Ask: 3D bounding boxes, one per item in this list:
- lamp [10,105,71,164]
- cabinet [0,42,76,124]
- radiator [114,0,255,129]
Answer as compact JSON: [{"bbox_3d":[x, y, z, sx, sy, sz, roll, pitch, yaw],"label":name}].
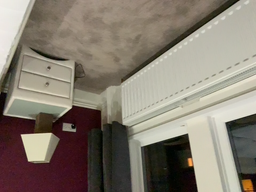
[{"bbox_3d":[-0.750,0.350,1.820,0.360,0.390,0.390,13,151,-33],"label":"lamp"},{"bbox_3d":[-0.820,-0.070,1.910,0.490,0.450,0.560,13,151,-33],"label":"cabinet"},{"bbox_3d":[0.350,-0.190,1.630,0.100,0.520,1.470,14,151,-34],"label":"radiator"}]
